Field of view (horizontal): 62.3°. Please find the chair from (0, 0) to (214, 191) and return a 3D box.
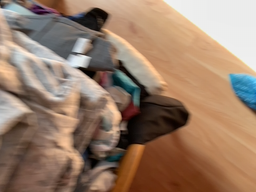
[{"bbox_3d":[-0.210,0.000,0.830,0.710,0.740,0.640,33,99,13],"label":"chair"}]
